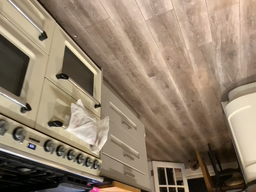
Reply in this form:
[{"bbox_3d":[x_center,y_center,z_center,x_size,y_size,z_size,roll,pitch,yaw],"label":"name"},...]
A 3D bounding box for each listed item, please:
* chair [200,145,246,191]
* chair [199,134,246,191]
[{"bbox_3d":[1.830,1.500,4.140,0.560,0.800,0.720,-16,147,17],"label":"chair"},{"bbox_3d":[1.530,1.140,3.490,0.470,0.830,0.460,-15,147,17],"label":"chair"}]
